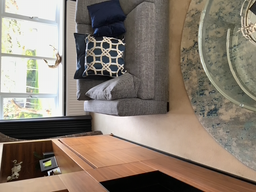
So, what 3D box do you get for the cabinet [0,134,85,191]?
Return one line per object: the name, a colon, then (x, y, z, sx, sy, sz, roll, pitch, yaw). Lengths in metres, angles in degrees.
cabinet: (-1.320, 0.830, 2.070, 1.580, 1.320, 0.550, 1, 90, 60)
